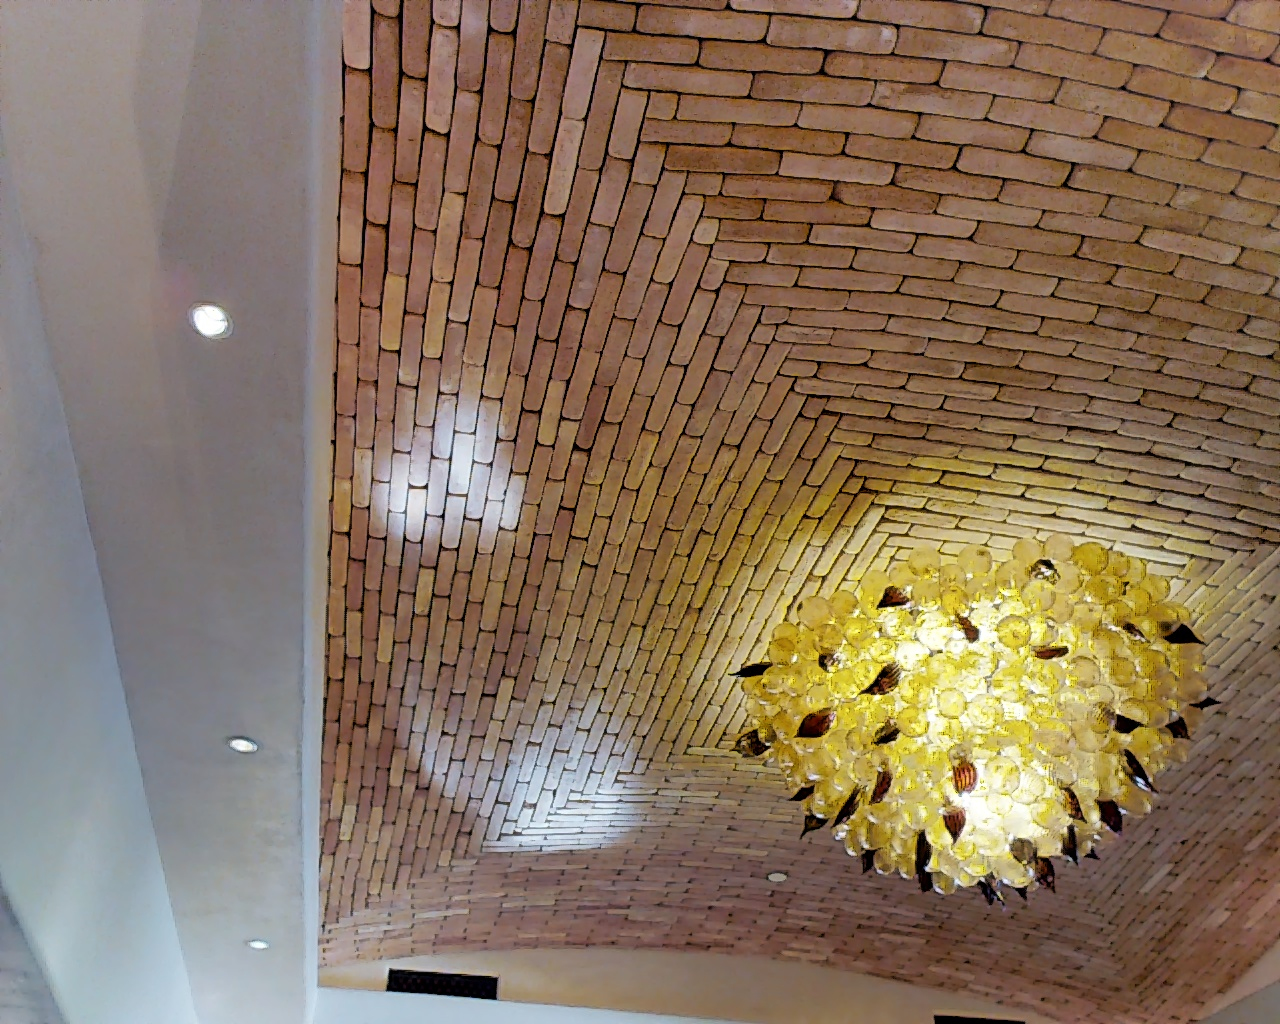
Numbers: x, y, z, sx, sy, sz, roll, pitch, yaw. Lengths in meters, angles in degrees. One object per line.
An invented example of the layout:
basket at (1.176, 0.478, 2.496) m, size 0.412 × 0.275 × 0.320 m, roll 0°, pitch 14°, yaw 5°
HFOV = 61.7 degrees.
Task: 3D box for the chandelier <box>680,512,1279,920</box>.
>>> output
chandelier at (1.080, 0.760, 3.320) m, size 1.520 × 0.820 × 1.570 m, roll 9°, pitch -21°, yaw -10°
